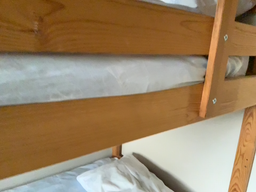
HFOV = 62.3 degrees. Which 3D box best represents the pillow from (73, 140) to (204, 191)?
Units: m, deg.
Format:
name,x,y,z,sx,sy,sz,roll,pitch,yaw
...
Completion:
name,x,y,z,sx,sy,sz,roll,pitch,yaw
pillow,0.050,0.520,1.150,0.420,0.180,0.750,-7,18,-36
